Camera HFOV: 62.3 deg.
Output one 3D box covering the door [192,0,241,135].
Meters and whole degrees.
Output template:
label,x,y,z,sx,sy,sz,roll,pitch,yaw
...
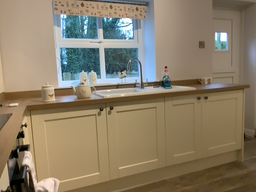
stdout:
label,x,y,z,sx,sy,sz,roll,pitch,yaw
door,1.430,-0.440,3.400,0.890,2.040,0.090,-6,8,-22
